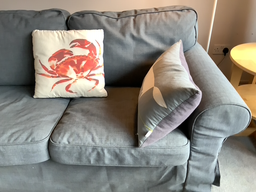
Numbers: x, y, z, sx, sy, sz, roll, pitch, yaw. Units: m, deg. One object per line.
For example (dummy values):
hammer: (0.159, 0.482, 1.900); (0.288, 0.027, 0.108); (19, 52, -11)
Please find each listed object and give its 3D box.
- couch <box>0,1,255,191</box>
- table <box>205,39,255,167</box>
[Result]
couch: (-0.340, -0.030, 1.280); (1.760, 0.840, 0.910); (0, 33, 1)
table: (0.930, 0.020, 1.390); (0.560, 0.600, 0.600); (0, 33, 1)
